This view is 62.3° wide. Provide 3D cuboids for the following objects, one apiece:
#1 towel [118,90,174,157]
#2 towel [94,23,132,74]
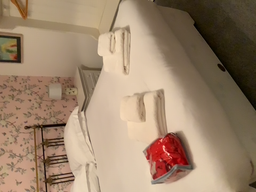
[{"bbox_3d":[0.090,0.160,1.390,0.500,0.100,0.360,-8,84,62],"label":"towel"},{"bbox_3d":[-0.140,-0.380,1.750,0.450,0.130,0.360,21,110,61],"label":"towel"}]
